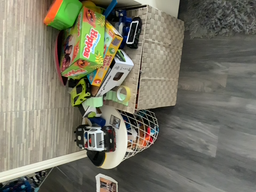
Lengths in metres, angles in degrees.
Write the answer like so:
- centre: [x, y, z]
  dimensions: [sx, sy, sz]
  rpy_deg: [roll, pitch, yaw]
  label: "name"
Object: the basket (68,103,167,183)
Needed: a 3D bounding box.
- centre: [-0.060, 0.270, 1.480]
  dimensions: [0.400, 0.550, 0.350]
  rpy_deg: [10, 98, 41]
  label: "basket"
